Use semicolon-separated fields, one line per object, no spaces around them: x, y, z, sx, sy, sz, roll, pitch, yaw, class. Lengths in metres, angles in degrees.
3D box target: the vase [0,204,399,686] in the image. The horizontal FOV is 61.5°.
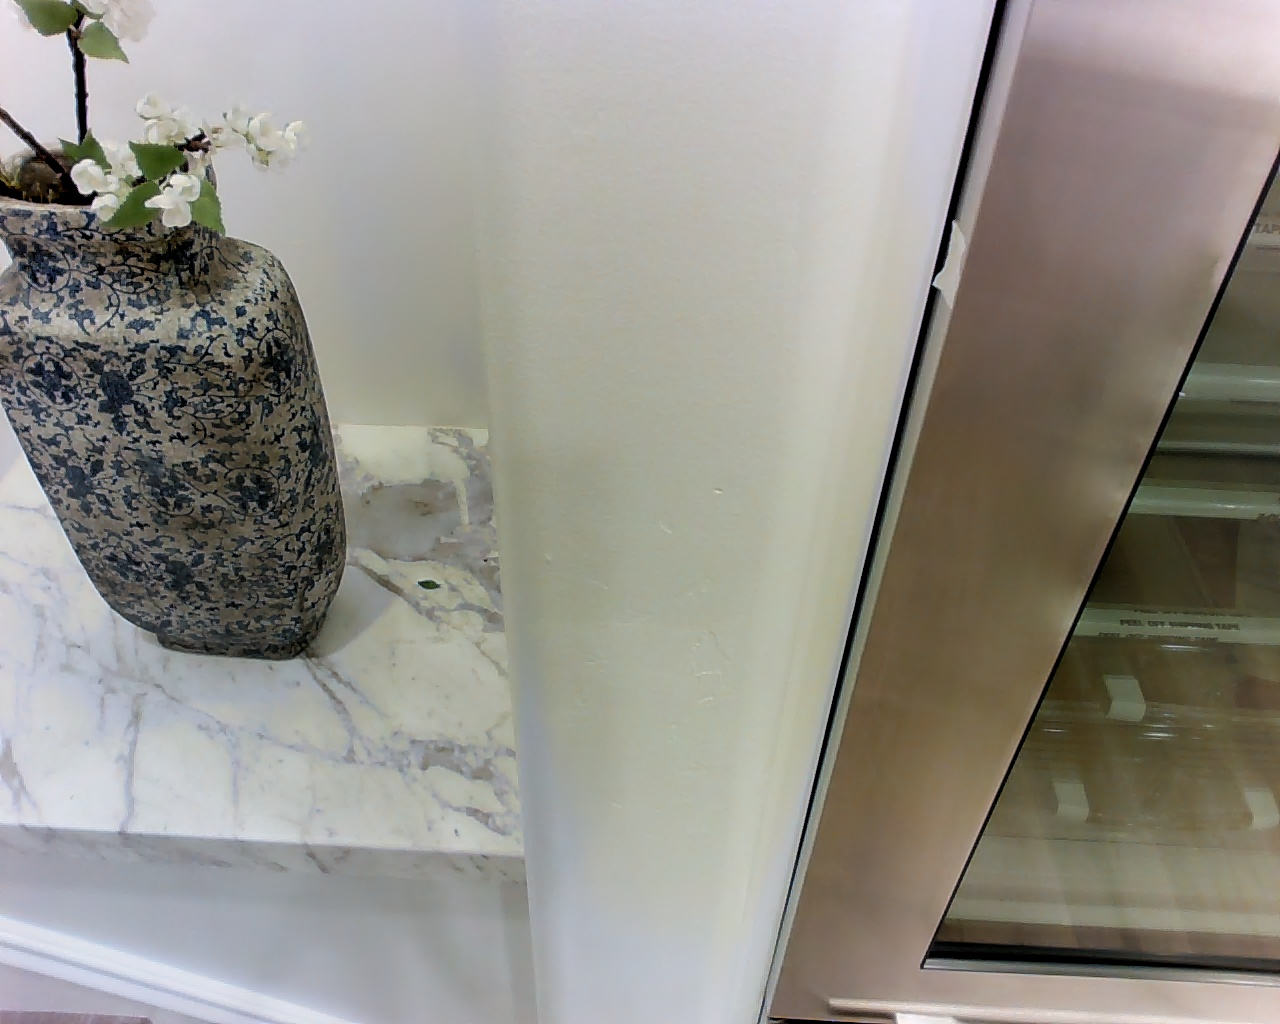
-0.430;-0.040;1.020;0.320;0.470;0.120;3;42;1;vase
